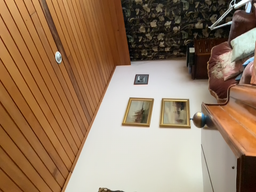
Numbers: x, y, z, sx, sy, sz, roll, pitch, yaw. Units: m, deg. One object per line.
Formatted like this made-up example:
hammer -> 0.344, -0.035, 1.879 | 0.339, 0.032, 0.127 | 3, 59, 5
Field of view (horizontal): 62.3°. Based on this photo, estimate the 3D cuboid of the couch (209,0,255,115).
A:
couch -> 1.440, -0.420, 2.510 | 0.980, 0.740, 0.930 | 70, -156, -55
